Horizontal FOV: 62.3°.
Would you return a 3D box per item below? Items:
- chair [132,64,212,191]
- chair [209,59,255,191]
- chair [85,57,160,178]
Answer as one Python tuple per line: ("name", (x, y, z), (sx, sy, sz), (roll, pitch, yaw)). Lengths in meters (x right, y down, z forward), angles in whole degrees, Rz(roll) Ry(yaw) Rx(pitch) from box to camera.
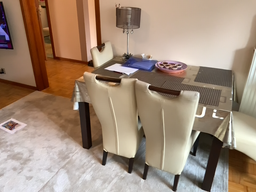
("chair", (0.360, 0.280, 1.770), (0.430, 0.900, 0.570), (13, 29, 22))
("chair", (1.140, 0.260, 1.780), (0.650, 0.940, 0.510), (13, 29, 23))
("chair", (-0.030, 0.170, 1.950), (0.430, 0.900, 0.510), (13, 29, 22))
